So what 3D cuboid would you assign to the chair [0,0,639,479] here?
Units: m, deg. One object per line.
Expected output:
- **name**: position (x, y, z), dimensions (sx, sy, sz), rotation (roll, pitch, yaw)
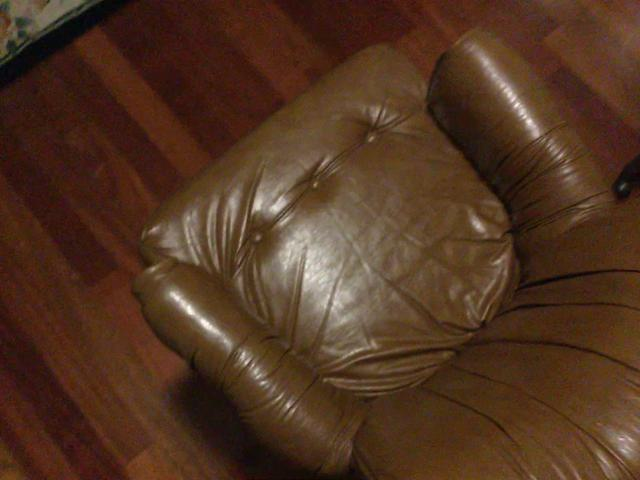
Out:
- **chair**: position (0.110, 0.040, 0.950), dimensions (0.720, 0.690, 0.790), rotation (-39, -10, -14)
